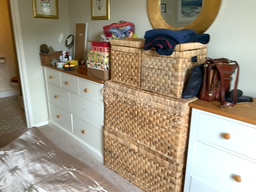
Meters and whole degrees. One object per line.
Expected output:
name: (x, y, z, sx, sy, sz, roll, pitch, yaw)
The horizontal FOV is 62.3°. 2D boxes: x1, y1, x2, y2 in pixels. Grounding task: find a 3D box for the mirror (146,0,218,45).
mirror: (0.420, -0.790, 1.720, 0.110, 0.690, 0.600, -15, 24, -41)
